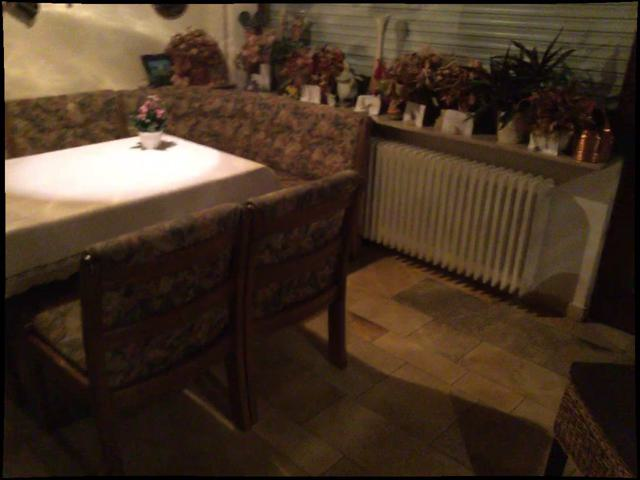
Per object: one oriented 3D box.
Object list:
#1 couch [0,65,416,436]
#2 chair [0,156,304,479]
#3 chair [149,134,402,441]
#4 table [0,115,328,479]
[{"bbox_3d":[-0.889,-0.270,3.060,1.549,0.901,2.429,24,32,39],"label":"couch"},{"bbox_3d":[-0.539,0.270,1.890,0.750,0.841,0.610,24,33,39],"label":"chair"},{"bbox_3d":[-0.180,0.120,2.250,0.710,0.851,0.580,24,33,39],"label":"chair"},{"bbox_3d":[-0.879,0.040,2.500,1.090,0.771,1.459,24,33,39],"label":"table"}]
